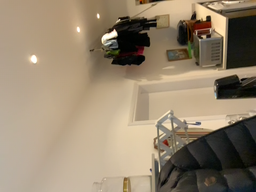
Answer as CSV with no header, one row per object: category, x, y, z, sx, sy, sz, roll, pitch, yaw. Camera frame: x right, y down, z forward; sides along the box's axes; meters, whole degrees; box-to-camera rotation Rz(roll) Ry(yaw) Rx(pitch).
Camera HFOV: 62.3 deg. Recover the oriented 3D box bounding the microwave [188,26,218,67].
microwave,1.010,-0.690,2.900,0.500,0.270,0.400,-80,-18,-61
